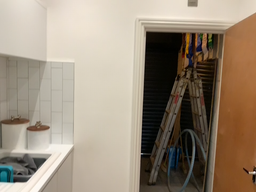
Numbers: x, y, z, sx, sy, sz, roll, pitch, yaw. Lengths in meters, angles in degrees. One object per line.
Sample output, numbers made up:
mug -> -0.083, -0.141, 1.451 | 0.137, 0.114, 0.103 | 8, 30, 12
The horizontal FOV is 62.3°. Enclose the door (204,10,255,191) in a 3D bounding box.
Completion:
door -> 0.780, 0.450, 1.670 | 0.060, 2.000, 0.790 | 3, 6, 5

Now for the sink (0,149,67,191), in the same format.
sink -> -0.780, 0.610, 1.520 | 0.520, 0.240, 0.570 | 3, 6, -1
